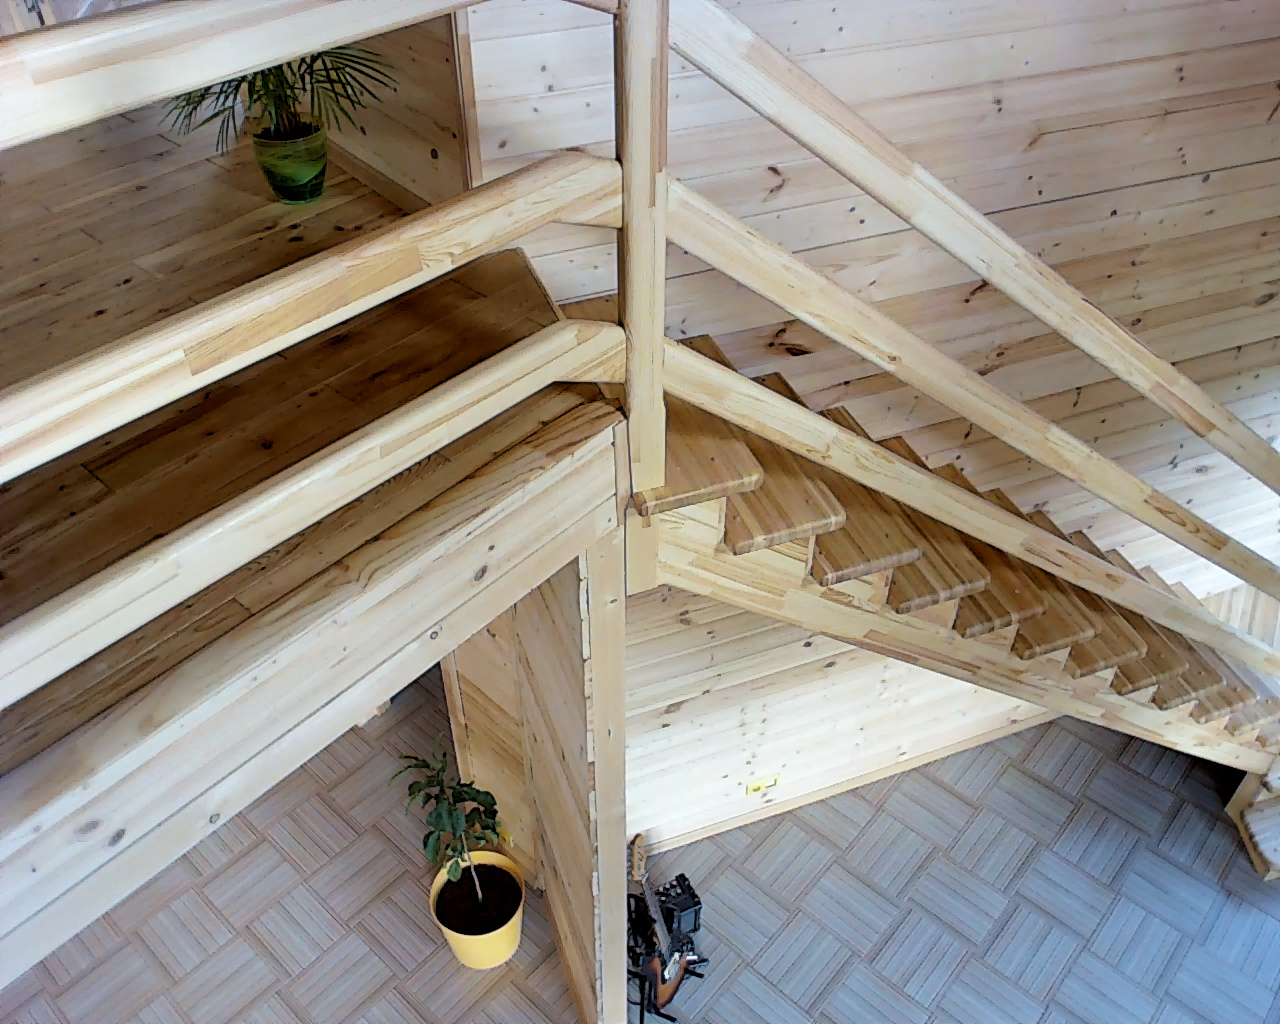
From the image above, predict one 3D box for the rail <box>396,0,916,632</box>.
[{"bbox_3d":[0.030,-0.440,1.710,0.570,1.080,0.440,-32,51,-31],"label":"rail"}]
